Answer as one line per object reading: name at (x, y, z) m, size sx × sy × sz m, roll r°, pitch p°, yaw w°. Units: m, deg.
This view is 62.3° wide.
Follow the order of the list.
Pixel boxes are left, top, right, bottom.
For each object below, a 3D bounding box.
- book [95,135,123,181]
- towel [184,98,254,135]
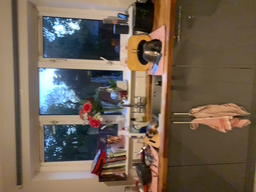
book at (-0.210, 0.670, 2.320) m, size 0.200 × 0.280 × 0.420 m, roll -138°, pitch 49°, yaw -77°
towel at (0.720, 0.160, 1.680) m, size 0.080 × 0.530 × 0.270 m, roll -140°, pitch 51°, yaw -77°
